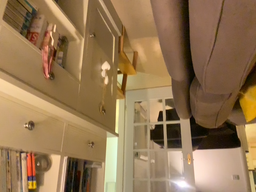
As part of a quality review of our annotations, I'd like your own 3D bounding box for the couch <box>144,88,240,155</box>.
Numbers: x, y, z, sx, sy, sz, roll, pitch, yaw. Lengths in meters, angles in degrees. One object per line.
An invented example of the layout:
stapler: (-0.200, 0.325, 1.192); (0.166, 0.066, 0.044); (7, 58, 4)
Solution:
couch: (1.150, 0.560, 3.720); (0.940, 0.750, 1.600); (-17, 153, 40)
